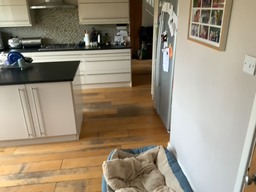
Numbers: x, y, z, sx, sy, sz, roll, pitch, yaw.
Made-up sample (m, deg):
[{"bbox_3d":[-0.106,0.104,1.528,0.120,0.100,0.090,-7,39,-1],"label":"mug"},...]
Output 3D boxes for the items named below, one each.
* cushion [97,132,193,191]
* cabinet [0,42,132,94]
[{"bbox_3d":[0.110,0.740,2.050,0.770,0.210,1.030,-2,23,-4],"label":"cushion"},{"bbox_3d":[-1.400,-0.620,4.550,2.930,0.900,0.610,-2,23,-4],"label":"cabinet"}]
